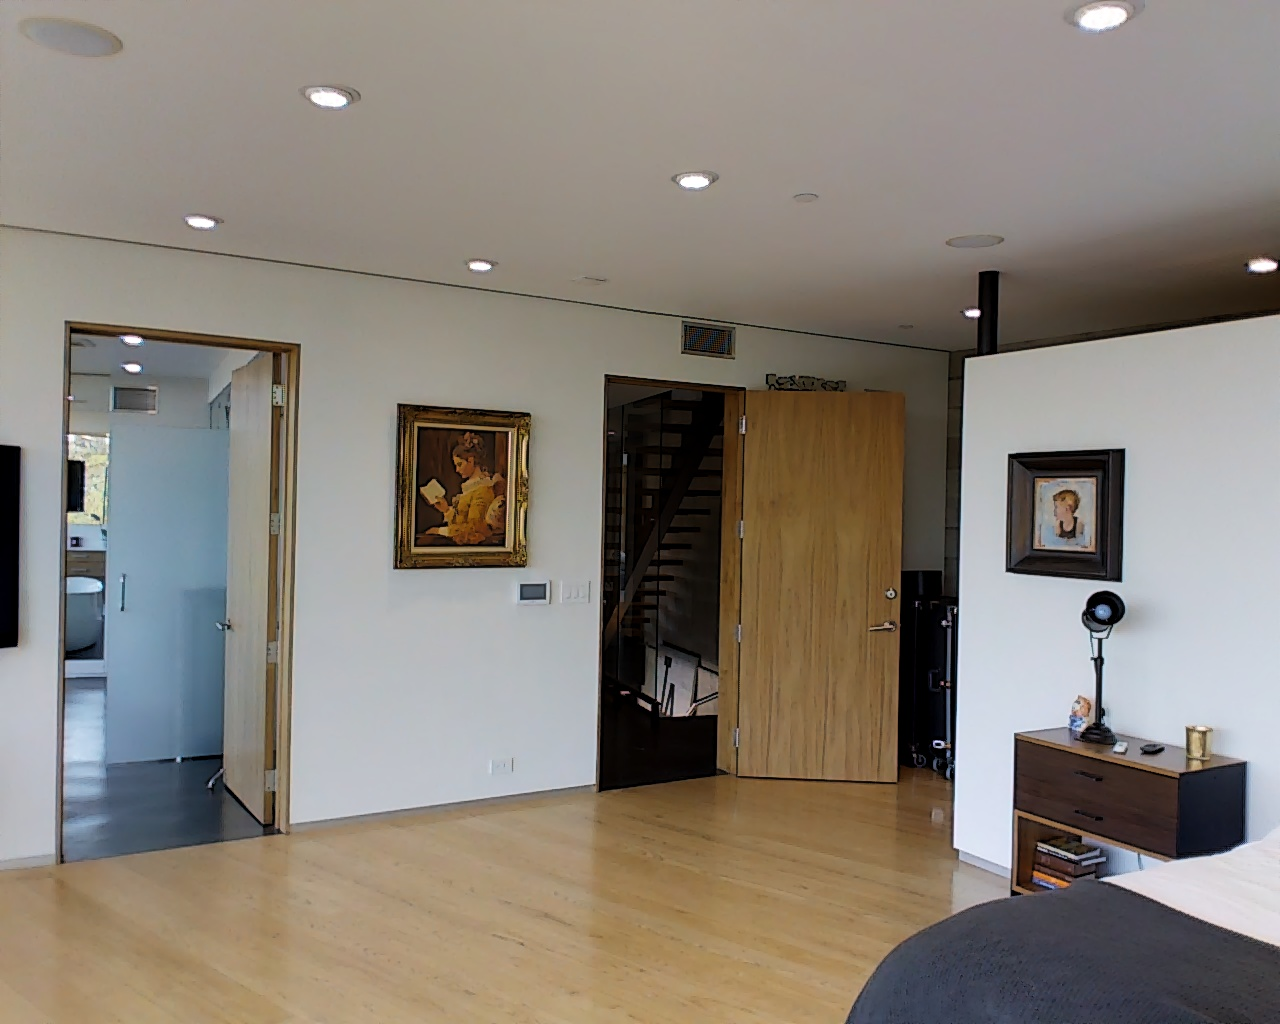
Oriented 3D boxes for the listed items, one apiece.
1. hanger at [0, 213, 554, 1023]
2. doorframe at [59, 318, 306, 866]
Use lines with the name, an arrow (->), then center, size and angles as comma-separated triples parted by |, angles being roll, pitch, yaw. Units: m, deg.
hanger -> -2.980, 0.350, 5.890 | 2.250, 2.320, 6.540 | 0, 0, -32
doorframe -> -2.070, 0.340, 4.910 | 0.990, 2.310, 0.240 | 0, 0, -33
